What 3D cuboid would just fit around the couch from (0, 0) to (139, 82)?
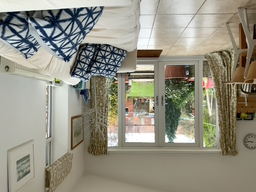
[{"bbox_3d":[-0.440,-0.560,1.890,1.070,0.750,1.840,0,180,3],"label":"couch"}]
